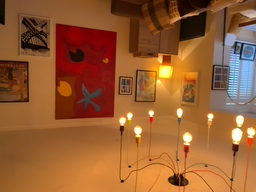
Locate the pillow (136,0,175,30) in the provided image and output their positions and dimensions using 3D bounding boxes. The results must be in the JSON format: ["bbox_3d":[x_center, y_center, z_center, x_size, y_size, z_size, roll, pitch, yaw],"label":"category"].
[{"bbox_3d":[0.440,-1.390,3.510,0.170,0.390,0.580,-38,-160,-26],"label":"pillow"}]
